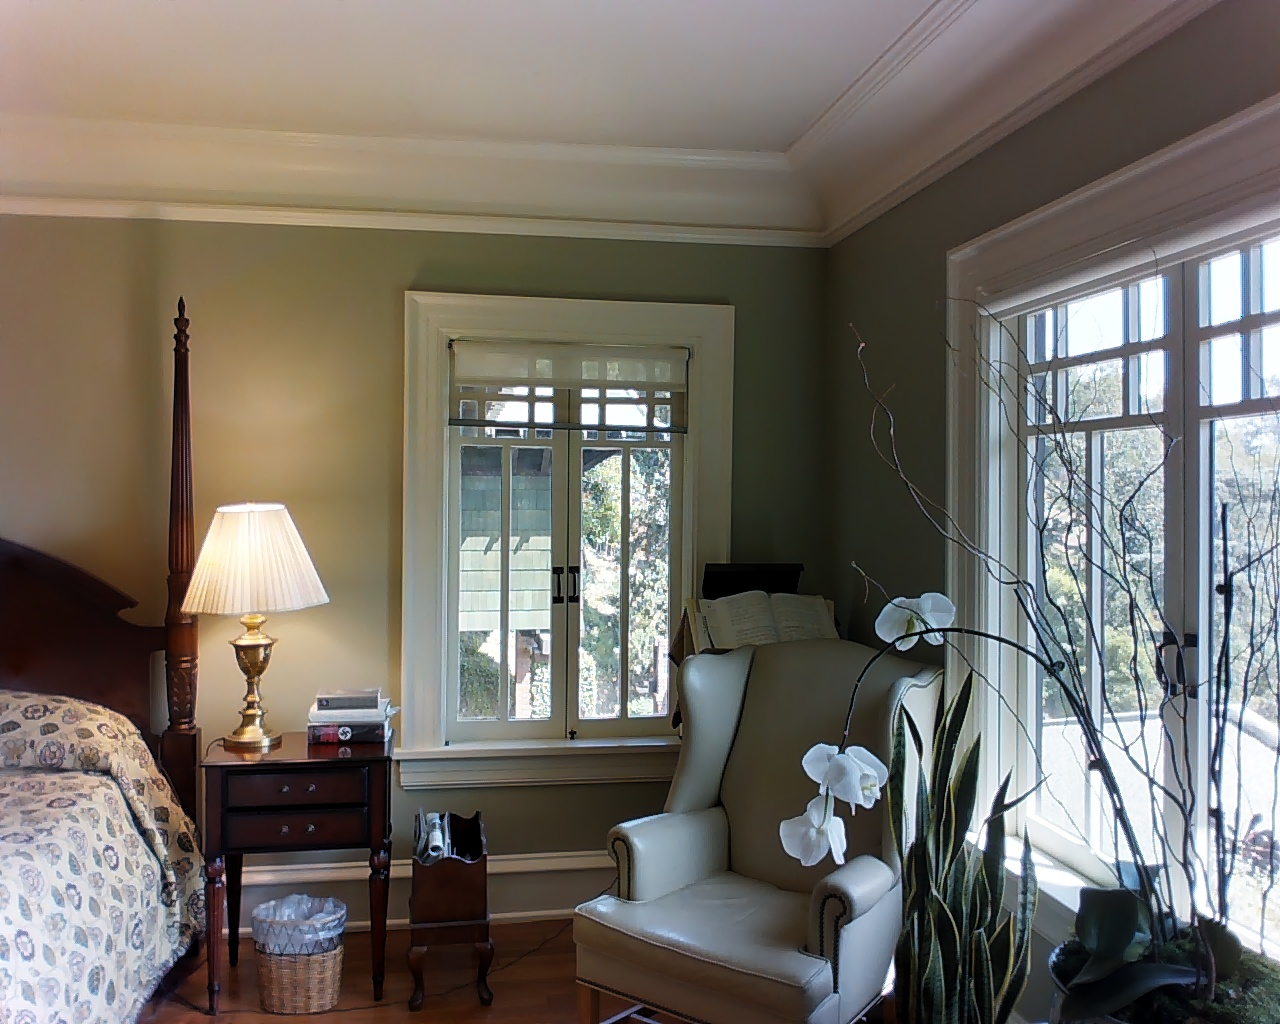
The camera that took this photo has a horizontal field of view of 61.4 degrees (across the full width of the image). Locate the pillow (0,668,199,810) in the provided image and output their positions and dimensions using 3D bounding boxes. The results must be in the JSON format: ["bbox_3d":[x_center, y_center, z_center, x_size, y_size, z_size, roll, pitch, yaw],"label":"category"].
[{"bbox_3d":[-1.960,0.700,3.360,1.010,0.340,0.450,0,0,-11],"label":"pillow"}]

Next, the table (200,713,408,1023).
[{"bbox_3d":[-1.070,1.120,3.540,0.540,0.780,0.670,1,0,-7],"label":"table"}]
